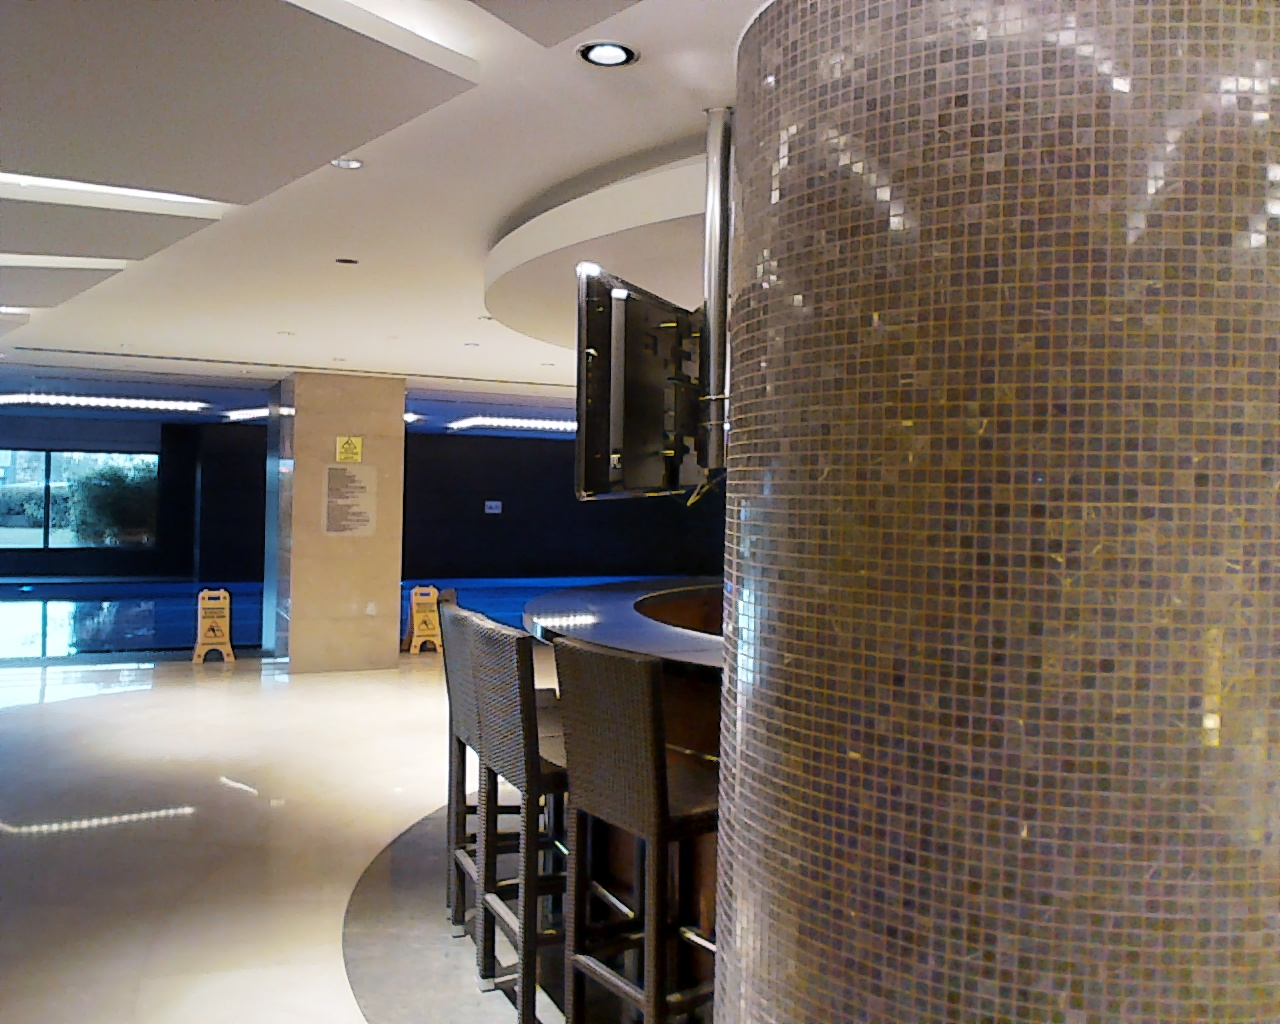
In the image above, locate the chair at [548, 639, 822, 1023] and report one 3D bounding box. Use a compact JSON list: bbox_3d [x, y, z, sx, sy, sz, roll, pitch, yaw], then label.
[{"bbox_3d":[0.110,0.970,2.920,0.520,1.170,0.520,1,0,-32],"label":"chair"}]
